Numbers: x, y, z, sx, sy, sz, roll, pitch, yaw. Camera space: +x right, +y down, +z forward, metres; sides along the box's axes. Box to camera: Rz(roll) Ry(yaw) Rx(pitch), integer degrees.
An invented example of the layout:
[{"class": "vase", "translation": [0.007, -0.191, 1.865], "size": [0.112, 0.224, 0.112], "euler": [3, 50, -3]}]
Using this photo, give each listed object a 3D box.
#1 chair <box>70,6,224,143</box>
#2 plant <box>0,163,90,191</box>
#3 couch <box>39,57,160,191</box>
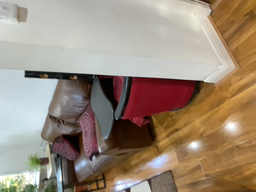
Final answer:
[{"class": "chair", "translation": [0.070, -0.180, 1.680], "size": [0.690, 0.820, 0.740], "euler": [49, 130, 50]}, {"class": "plant", "translation": [-1.550, 1.680, 3.660], "size": [0.500, 1.640, 0.640], "euler": [19, 106, 60]}, {"class": "couch", "translation": [-0.580, 0.510, 2.780], "size": [1.900, 0.860, 0.960], "euler": [-49, 48, 49]}]
